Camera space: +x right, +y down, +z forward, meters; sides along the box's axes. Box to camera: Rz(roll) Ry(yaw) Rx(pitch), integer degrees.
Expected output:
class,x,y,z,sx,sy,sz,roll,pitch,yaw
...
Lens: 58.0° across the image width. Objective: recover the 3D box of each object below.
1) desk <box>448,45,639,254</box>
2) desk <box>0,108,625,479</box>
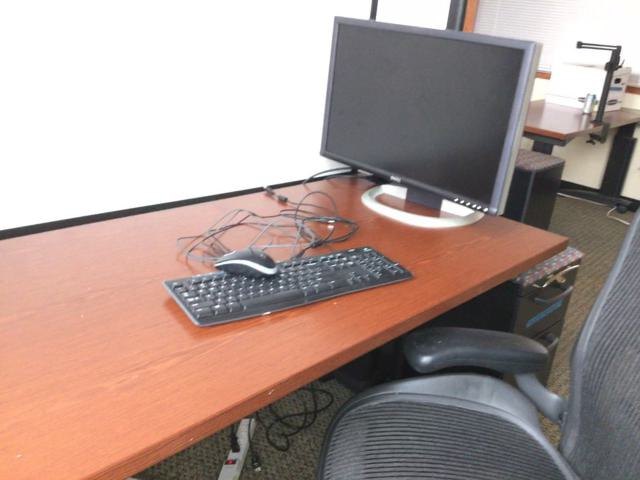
class,x,y,z,sx,sy,sz,roll,pitch,yaw
desk,1.640,-0.650,3.530,1.540,0.830,0.790,-19,36,-39
desk,-0.250,0.360,1.220,1.630,0.890,0.830,-19,36,-39
